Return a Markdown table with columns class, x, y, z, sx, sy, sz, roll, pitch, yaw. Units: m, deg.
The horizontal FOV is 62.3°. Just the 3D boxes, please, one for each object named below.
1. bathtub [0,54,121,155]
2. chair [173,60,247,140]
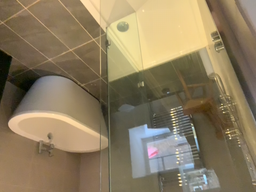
| class | x | y | z | sx | sy | sz | roll | pitch | yaw |
| --- | --- | --- | --- | --- | --- | --- | --- | --- | --- |
| bathtub | -0.820 | 0.260 | 2.960 | 0.790 | 0.630 | 1.570 | -17 | 147 | 20 |
| chair | 0.950 | 0.050 | 2.660 | 0.550 | 0.830 | 0.520 | -4 | 149 | -1 |
